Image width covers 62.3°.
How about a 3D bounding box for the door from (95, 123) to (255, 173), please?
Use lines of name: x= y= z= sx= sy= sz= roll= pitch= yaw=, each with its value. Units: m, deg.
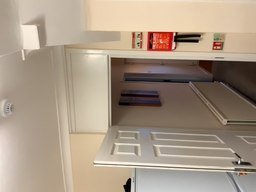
door: x=0.800 y=0.400 z=1.730 sx=0.760 sy=2.000 sz=0.080 roll=-77 pitch=-12 yaw=-81
